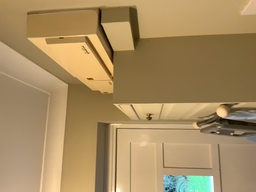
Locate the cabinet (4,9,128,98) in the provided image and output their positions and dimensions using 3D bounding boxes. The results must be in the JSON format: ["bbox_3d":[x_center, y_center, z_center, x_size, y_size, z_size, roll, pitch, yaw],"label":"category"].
[{"bbox_3d":[-0.170,-0.110,0.960,0.790,0.250,0.090,60,-151,-77],"label":"cabinet"}]
